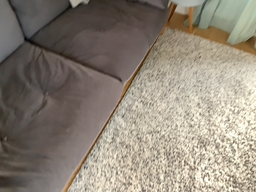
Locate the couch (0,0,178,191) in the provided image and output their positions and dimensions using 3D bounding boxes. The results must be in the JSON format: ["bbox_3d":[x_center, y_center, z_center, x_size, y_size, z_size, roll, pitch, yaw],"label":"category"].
[{"bbox_3d":[-0.440,-0.260,1.260,0.970,0.790,2.070,22,54,11],"label":"couch"}]
